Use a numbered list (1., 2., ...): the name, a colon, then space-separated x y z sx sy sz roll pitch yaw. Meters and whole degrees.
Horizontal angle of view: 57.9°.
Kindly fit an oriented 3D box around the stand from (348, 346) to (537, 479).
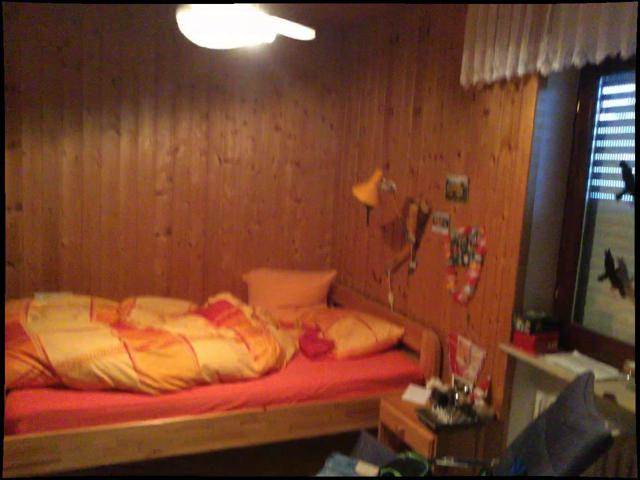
1. stand: 0.509 0.851 2.590 0.500 0.510 0.660 -1 10 -24

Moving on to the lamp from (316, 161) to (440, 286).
1. lamp: 0.300 -0.110 3.130 0.470 0.601 0.450 -1 10 -24

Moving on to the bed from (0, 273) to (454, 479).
1. bed: -0.569 0.721 3.140 2.058 0.721 1.380 -1 10 -24
